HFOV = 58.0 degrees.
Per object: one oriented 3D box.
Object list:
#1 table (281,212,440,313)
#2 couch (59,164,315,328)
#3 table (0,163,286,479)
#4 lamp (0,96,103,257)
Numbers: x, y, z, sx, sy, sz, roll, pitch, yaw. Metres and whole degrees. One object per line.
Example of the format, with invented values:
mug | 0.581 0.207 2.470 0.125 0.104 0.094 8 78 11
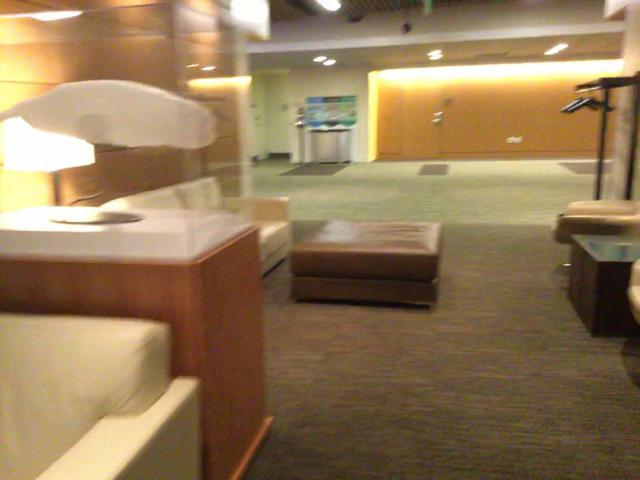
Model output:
table | 0.340 0.120 4.100 0.940 0.440 0.940 0 14 16
couch | -0.850 -0.060 4.400 1.130 0.780 1.720 0 14 17
table | -0.780 0.340 2.090 1.100 1.120 0.750 0 14 10
lamp | -1.660 -0.340 3.090 0.670 0.750 0.450 -1 19 11
